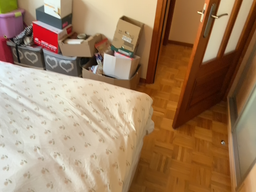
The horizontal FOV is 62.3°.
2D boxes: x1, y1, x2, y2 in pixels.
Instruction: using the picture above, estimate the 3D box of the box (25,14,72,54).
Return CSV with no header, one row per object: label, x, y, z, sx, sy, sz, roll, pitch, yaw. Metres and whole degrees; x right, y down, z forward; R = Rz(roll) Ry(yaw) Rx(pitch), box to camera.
box,-0.930,-0.740,2.520,0.430,0.320,0.240,15,37,13
